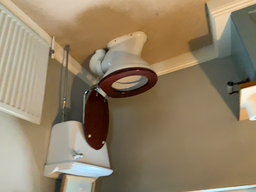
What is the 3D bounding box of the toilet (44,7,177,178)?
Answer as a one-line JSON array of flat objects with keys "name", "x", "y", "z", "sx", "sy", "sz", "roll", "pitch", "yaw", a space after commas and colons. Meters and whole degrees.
[{"name": "toilet", "x": -0.130, "y": 0.010, "z": 1.550, "sx": 0.690, "sy": 1.000, "sz": 0.470, "roll": -16, "pitch": 152, "yaw": 19}]
